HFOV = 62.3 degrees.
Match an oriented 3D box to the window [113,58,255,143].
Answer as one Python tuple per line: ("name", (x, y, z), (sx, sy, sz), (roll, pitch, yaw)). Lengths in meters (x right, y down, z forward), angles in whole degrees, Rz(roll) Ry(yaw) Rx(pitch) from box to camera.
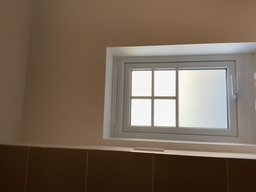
("window", (0.370, 0.020, 1.400), (0.020, 0.940, 0.530), (31, -120, -79))
